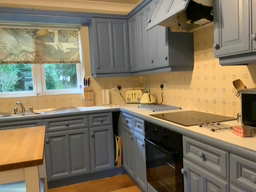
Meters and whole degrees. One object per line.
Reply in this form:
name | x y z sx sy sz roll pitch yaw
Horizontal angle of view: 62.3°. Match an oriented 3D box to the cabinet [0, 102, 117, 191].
cabinet | -1.170 0.620 2.660 1.890 0.870 0.710 -4 5 -20
